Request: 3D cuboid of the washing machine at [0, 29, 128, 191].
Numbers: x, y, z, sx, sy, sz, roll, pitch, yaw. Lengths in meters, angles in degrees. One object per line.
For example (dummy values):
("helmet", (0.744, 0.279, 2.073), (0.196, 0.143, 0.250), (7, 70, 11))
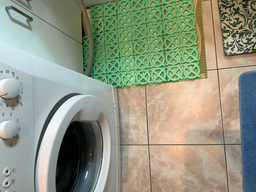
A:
("washing machine", (-0.360, 0.230, 0.760), (0.490, 0.800, 0.610), (-5, 83, 16))
